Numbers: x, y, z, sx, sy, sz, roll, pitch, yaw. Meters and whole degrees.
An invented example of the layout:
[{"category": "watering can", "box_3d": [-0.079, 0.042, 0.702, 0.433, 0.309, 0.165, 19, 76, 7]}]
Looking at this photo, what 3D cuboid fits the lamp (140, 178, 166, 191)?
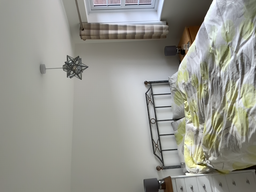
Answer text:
[{"category": "lamp", "box_3d": [0.300, 1.110, 2.600, 0.210, 0.260, 0.170, 97, 169, -65]}]
